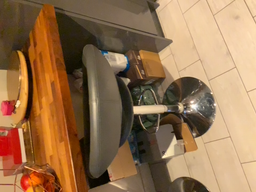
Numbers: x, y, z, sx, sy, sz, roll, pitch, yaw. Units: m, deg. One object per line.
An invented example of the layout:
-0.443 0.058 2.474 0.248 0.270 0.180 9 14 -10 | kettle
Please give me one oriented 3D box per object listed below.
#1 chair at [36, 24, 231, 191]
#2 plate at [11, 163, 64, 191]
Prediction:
0.060 0.060 1.120 0.530 0.860 0.510 -10 82 48 | chair
-0.320 0.390 0.760 0.180 0.120 0.240 -33 66 44 | plate
